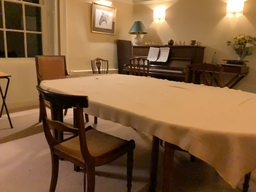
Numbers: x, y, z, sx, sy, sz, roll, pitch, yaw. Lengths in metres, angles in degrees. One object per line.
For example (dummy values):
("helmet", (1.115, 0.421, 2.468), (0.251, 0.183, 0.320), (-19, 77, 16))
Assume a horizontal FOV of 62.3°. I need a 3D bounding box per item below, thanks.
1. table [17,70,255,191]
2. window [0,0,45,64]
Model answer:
("table", (0.120, 0.260, 1.970), (2.300, 0.710, 1.250), (14, 17, 40))
("window", (-1.850, -1.490, 3.380), (0.250, 1.900, 0.900), (13, 16, 39))
